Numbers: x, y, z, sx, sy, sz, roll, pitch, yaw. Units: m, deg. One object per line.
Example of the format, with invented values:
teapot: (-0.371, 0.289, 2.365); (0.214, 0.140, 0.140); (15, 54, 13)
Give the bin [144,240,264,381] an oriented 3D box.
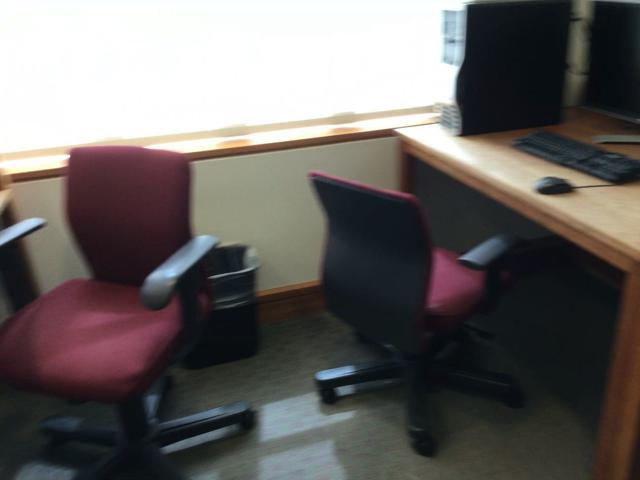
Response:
bin: (-0.430, 0.250, 2.150); (0.380, 0.390, 0.270); (-6, 24, -16)
